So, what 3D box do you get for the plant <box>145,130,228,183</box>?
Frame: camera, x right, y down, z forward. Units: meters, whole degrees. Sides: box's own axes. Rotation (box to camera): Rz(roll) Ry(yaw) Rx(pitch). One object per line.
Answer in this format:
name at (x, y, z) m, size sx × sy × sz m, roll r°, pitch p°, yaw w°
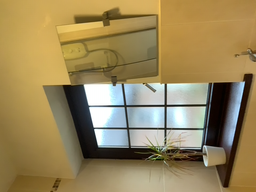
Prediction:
plant at (0.410, 0.450, 1.590) m, size 0.200 × 0.540 × 0.320 m, roll -77°, pitch -15°, yaw -57°
